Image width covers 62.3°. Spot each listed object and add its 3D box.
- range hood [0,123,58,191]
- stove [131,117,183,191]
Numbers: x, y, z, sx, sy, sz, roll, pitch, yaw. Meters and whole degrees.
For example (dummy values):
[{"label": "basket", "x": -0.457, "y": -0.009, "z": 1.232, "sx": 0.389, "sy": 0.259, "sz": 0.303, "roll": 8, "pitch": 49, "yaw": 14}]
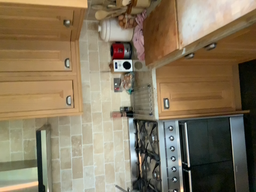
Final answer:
[{"label": "range hood", "x": -0.900, "y": 0.720, "z": 1.700, "sx": 0.660, "sy": 0.620, "sz": 0.850, "roll": -170, "pitch": 79, "yaw": -72}, {"label": "stove", "x": 0.230, "y": 0.660, "z": 1.840, "sx": 0.610, "sy": 0.170, "sz": 0.920, "roll": 168, "pitch": 99, "yaw": -72}]
